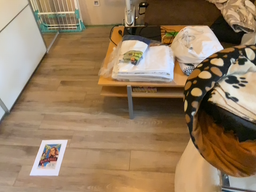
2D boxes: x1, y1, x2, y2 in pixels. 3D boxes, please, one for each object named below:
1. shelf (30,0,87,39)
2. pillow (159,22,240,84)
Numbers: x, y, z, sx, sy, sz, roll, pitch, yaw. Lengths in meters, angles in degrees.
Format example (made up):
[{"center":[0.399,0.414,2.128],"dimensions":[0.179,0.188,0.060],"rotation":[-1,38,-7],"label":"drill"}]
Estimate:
[{"center":[-0.960,-1.390,2.640],"dimensions":[0.620,1.420,0.120],"rotation":[-1,45,3],"label":"shelf"},{"center":[0.510,-0.370,1.680],"dimensions":[0.500,0.140,0.660],"rotation":[1,45,5],"label":"pillow"}]
